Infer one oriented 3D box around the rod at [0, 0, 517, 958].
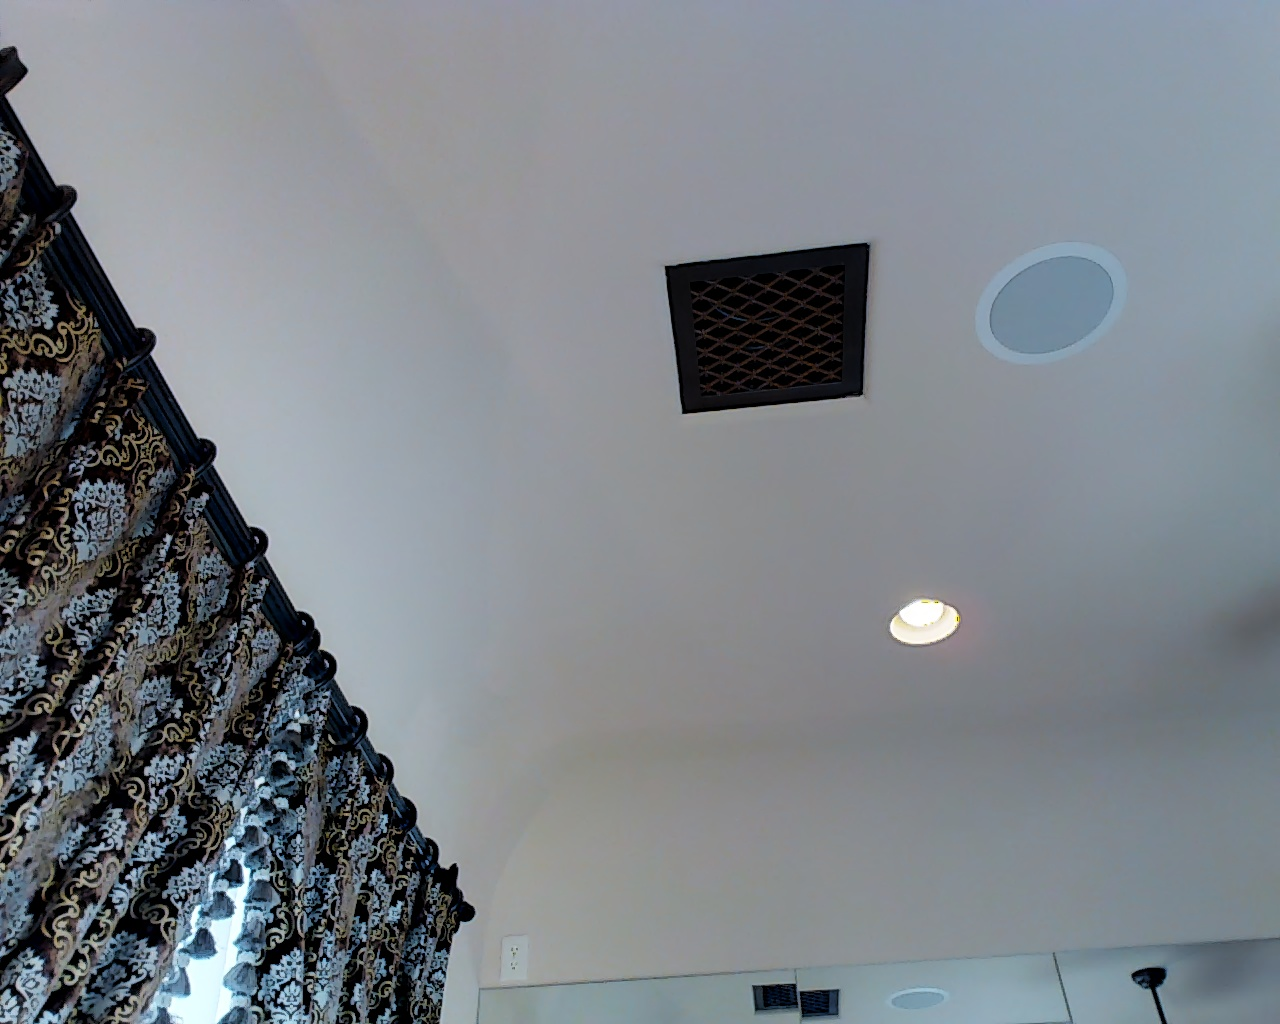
[{"bbox_3d":[-0.500,0.170,1.570,0.160,0.170,2.110,-7,-43,5],"label":"rod"}]
